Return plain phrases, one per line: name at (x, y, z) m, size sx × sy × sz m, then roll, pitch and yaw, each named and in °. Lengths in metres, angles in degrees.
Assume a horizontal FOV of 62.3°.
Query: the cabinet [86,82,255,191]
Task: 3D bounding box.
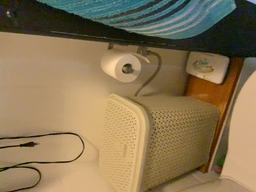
cabinet at (0.220, 0.170, 1.050) m, size 0.360 × 0.730 × 0.380 m, roll 29°, pitch 117°, yaw 50°
